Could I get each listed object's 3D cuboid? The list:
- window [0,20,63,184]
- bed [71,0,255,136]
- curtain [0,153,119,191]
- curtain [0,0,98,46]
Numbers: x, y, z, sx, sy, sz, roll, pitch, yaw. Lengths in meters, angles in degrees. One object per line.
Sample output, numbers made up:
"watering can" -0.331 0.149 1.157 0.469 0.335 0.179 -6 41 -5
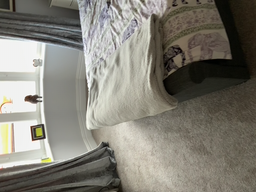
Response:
"window" -1.880 0.080 2.880 0.670 1.640 2.080 -18 77 56
"bed" 0.010 -0.890 1.940 1.620 0.470 2.270 -26 70 55
"curtain" -1.140 0.990 2.300 0.140 2.260 0.330 -36 62 53
"curtain" -1.530 -0.960 2.600 0.190 2.390 0.420 -33 64 53
